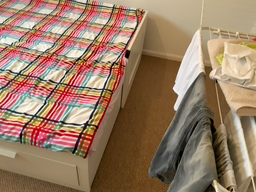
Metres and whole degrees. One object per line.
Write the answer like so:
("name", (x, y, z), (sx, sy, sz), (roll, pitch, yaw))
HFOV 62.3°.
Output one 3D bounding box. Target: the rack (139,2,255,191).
("rack", (0.510, 0.250, 1.050), (0.770, 0.930, 1.070), (13, 42, 6))
